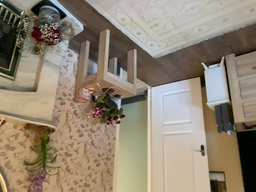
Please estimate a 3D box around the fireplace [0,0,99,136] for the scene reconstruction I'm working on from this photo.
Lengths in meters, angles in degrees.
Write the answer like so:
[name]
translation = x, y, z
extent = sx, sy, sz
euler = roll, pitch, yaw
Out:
[fireplace]
translation = -0.960, -0.330, 1.540
extent = 0.570, 0.980, 1.420
euler = -14, 155, 37
